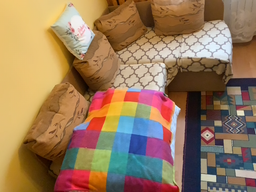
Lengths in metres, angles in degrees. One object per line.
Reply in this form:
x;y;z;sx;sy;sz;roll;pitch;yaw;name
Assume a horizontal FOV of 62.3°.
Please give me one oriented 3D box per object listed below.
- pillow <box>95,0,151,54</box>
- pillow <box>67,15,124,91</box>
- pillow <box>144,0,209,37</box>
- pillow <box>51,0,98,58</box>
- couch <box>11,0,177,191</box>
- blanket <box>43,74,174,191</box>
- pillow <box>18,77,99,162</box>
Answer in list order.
-0.050;-0.810;2.410;0.550;0.340;0.200;-45;64;8;pillow
-0.280;-0.390;2.060;0.250;0.470;0.540;0;65;22;pillow
0.530;-0.870;2.300;0.640;0.340;0.210;1;47;19;pillow
-0.440;-0.570;1.830;0.140;0.340;0.340;2;59;22;pillow
-0.030;-0.170;2.120;0.810;0.750;2.060;1;47;19;couch
-0.050;0.250;1.470;0.670;0.300;0.820;-1;47;17;blanket
-0.480;0.190;1.600;0.260;0.420;0.530;0;68;23;pillow
